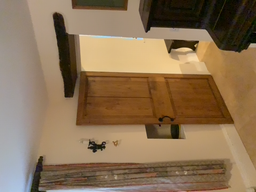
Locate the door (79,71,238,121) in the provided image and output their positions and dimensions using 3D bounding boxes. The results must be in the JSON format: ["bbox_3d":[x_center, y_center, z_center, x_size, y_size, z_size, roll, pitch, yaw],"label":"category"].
[{"bbox_3d":[0.350,-0.010,2.550,0.030,1.790,0.730,101,167,-47],"label":"door"}]

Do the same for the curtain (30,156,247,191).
[{"bbox_3d":[0.140,0.700,1.890,0.140,1.840,0.240,102,166,-49],"label":"curtain"}]
